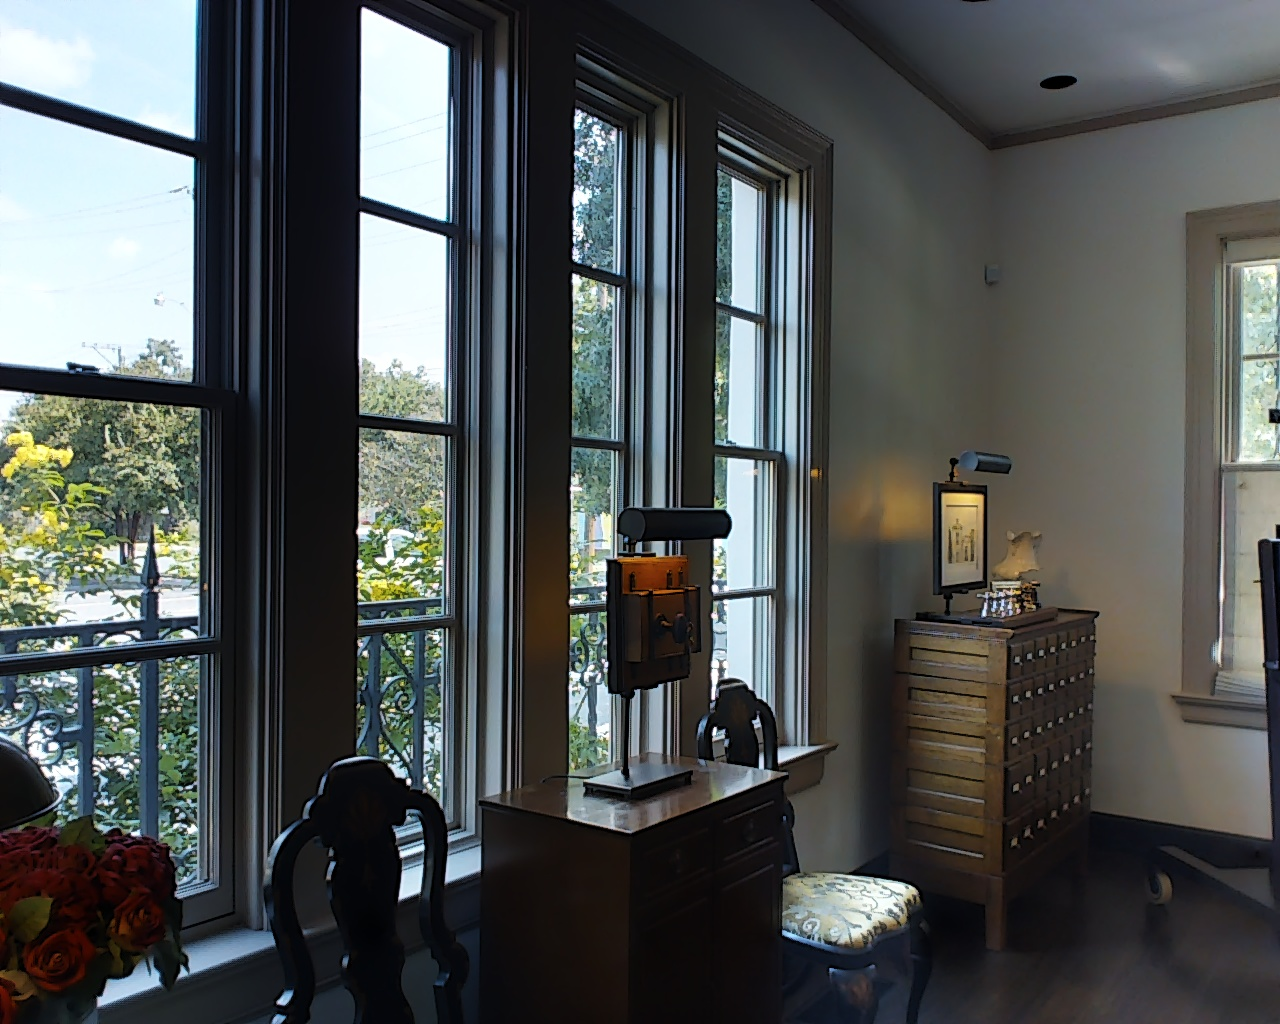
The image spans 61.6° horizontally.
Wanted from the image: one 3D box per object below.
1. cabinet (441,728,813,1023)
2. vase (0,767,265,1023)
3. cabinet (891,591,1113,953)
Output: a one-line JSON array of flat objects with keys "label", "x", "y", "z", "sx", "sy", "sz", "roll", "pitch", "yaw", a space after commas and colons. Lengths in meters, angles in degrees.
[{"label": "cabinet", "x": -0.010, "y": 1.040, "z": 2.460, "sx": 0.520, "sy": 0.910, "sz": 0.710, "roll": 1, "pitch": 0, "yaw": 37}, {"label": "vase", "x": -0.710, "y": 0.560, "z": 1.260, "sx": 0.340, "sy": 0.400, "sz": 0.380, "roll": 1, "pitch": 0, "yaw": 37}, {"label": "cabinet", "x": 1.470, "y": 0.930, "z": 4.260, "sx": 0.470, "sy": 1.150, "sz": 1.160, "roll": 1, "pitch": 0, "yaw": 38}]
